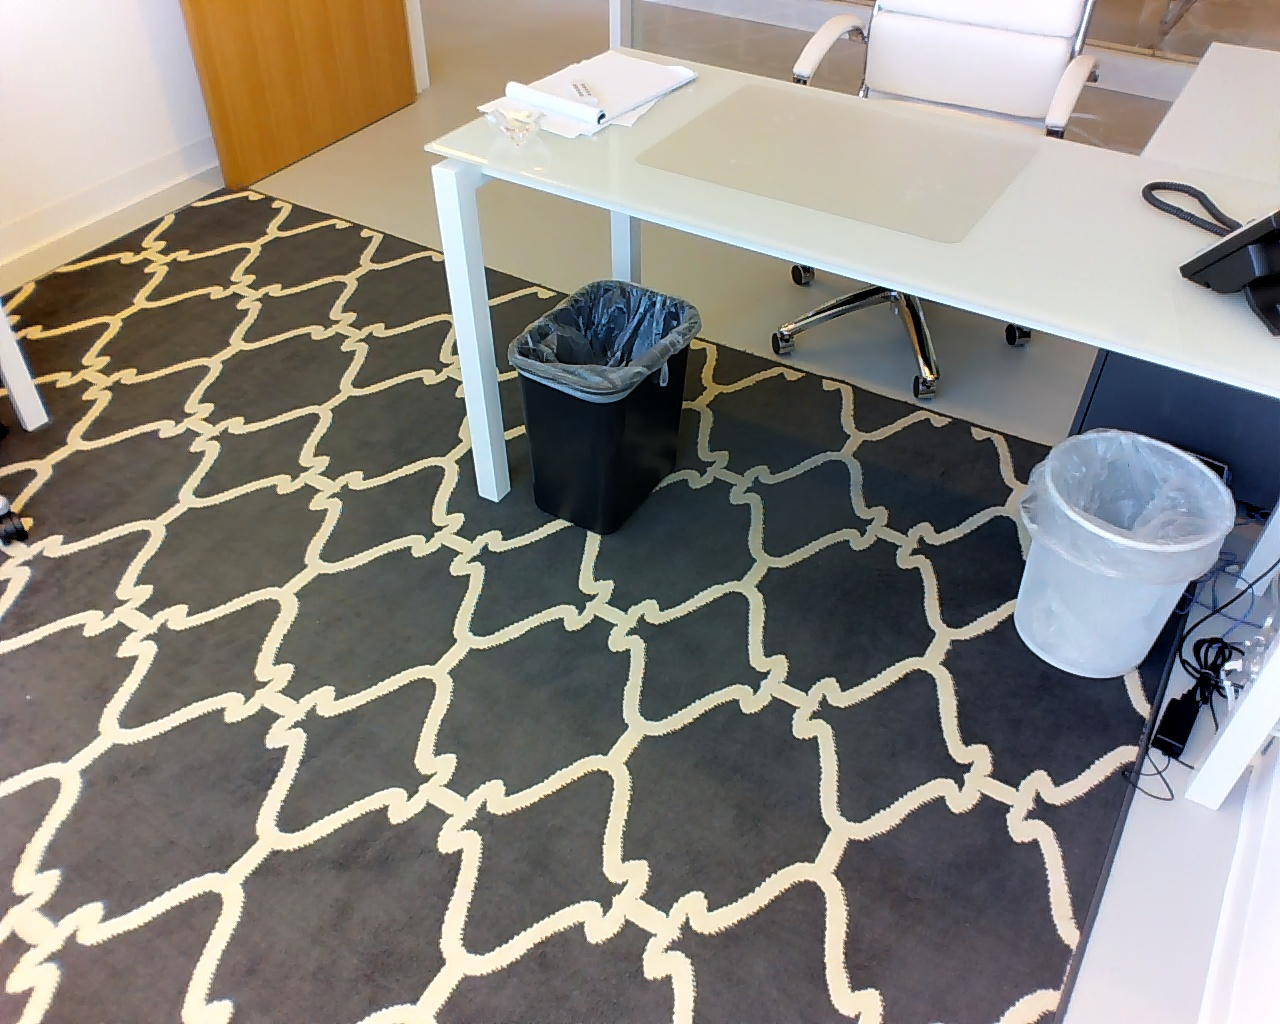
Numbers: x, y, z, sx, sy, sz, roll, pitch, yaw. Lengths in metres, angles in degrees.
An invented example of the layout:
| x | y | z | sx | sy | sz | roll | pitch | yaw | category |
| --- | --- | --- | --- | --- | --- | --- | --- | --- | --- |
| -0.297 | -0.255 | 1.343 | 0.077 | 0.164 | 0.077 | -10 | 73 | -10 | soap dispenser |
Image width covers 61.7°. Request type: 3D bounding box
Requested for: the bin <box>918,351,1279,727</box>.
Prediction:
| x | y | z | sx | sy | sz | roll | pitch | yaw | category |
| --- | --- | --- | --- | --- | --- | --- | --- | --- | --- |
| 0.840 | 0.030 | 1.930 | 0.490 | 0.370 | 0.390 | 24 | 47 | 25 | bin |

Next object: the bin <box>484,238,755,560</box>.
| x | y | z | sx | sy | sz | roll | pitch | yaw | category |
| --- | --- | --- | --- | --- | --- | --- | --- | --- | --- |
| -0.030 | -0.240 | 2.190 | 0.350 | 0.420 | 0.420 | 22 | 46 | 23 | bin |

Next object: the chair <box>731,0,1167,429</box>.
| x | y | z | sx | sy | sz | roll | pitch | yaw | category |
| --- | --- | --- | --- | --- | --- | --- | --- | --- | --- |
| 0.710 | -0.900 | 2.480 | 0.700 | 1.050 | 0.690 | 22 | 46 | 23 | chair |
